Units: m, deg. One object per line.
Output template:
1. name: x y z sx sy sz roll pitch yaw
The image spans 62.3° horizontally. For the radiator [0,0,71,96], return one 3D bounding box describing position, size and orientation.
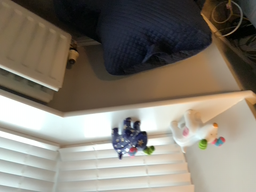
1. radiator: -0.670 -0.370 0.750 0.900 0.490 0.090 24 132 -28
